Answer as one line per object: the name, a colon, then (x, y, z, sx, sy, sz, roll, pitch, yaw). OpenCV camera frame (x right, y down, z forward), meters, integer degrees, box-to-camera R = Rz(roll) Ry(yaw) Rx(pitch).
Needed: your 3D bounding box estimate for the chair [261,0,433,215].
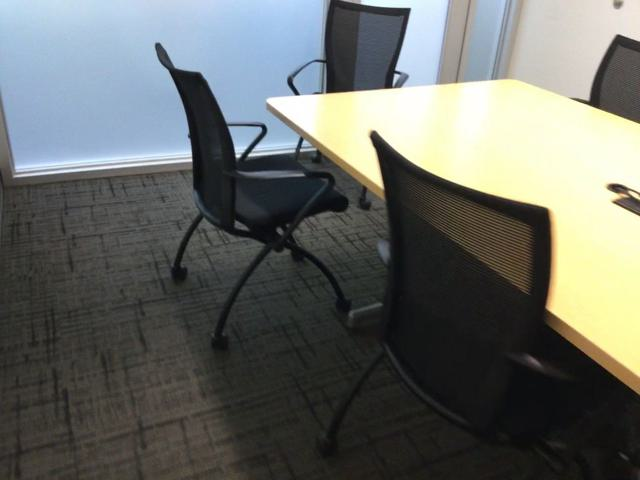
chair: (0.140, -0.740, 3.040, 0.610, 0.930, 0.670, 15, 30, 24)

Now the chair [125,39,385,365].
chair: (-0.250, -0.180, 2.000, 0.660, 0.870, 0.650, -9, 29, -19)
